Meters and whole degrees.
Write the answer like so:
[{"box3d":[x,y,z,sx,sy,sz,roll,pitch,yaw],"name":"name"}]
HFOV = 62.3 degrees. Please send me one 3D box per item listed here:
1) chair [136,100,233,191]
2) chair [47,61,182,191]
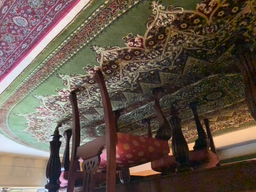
[{"box3d":[0.510,0.630,1.910,0.560,0.940,0.570,-23,148,32],"name":"chair"},{"box3d":[-0.110,0.410,1.350,0.570,0.960,0.590,16,147,-35],"name":"chair"}]
